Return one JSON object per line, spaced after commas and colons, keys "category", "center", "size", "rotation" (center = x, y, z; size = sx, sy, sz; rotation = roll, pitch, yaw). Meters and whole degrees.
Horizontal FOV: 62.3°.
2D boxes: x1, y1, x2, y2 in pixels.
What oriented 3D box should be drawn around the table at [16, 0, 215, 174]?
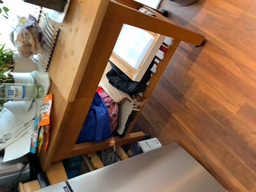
{"category": "table", "center": [-0.100, -0.130, 1.350], "size": [0.510, 0.840, 0.940], "rotation": [45, 121, 34]}
